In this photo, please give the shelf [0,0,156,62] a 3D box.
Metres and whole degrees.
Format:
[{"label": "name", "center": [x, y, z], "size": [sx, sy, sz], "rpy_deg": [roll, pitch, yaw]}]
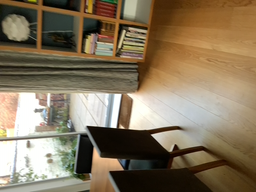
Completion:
[{"label": "shelf", "center": [-0.750, -0.980, 2.310], "size": [0.430, 2.160, 0.990], "rpy_deg": [35, 121, 59]}]
